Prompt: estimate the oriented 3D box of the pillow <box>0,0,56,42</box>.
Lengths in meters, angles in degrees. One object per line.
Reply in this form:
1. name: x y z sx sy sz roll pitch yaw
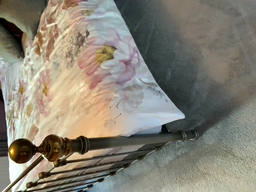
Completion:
1. pillow: -0.820 -0.730 1.680 0.420 0.260 0.350 -42 59 33
